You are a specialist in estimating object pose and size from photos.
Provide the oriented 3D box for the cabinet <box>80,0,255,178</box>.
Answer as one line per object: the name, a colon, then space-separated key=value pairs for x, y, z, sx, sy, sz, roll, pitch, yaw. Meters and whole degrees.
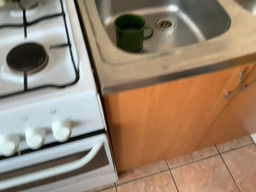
cabinet: x=0.270 y=-0.120 z=0.990 sx=0.810 sy=0.850 sz=0.580 roll=-13 pitch=57 yaw=-8
